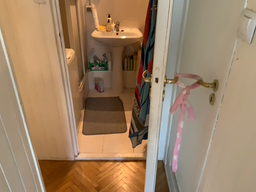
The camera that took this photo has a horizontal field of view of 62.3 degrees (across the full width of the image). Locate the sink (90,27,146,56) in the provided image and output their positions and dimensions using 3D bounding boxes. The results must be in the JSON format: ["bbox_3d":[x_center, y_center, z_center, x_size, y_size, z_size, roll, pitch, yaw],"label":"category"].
[{"bbox_3d":[-0.120,-0.690,2.650,0.620,0.220,0.480,1,30,-2],"label":"sink"}]
